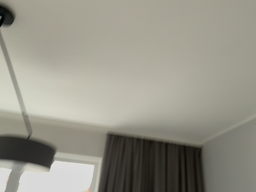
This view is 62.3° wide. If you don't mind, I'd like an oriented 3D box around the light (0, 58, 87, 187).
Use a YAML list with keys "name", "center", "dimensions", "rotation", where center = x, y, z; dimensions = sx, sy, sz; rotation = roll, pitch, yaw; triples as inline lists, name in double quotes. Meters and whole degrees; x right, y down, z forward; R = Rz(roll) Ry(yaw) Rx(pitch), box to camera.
- name: "light"
  center: [-0.680, 0.180, 1.570]
  dimensions: [0.400, 0.440, 0.780]
  rotation: [30, -79, 65]
